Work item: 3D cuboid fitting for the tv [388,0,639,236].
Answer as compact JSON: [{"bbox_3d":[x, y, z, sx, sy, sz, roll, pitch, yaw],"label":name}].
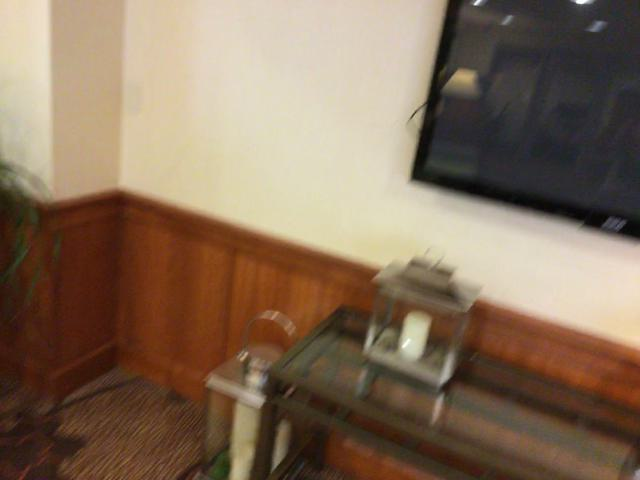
[{"bbox_3d":[0.830,-0.390,1.480,1.150,0.720,0.200,18,5,26],"label":"tv"}]
